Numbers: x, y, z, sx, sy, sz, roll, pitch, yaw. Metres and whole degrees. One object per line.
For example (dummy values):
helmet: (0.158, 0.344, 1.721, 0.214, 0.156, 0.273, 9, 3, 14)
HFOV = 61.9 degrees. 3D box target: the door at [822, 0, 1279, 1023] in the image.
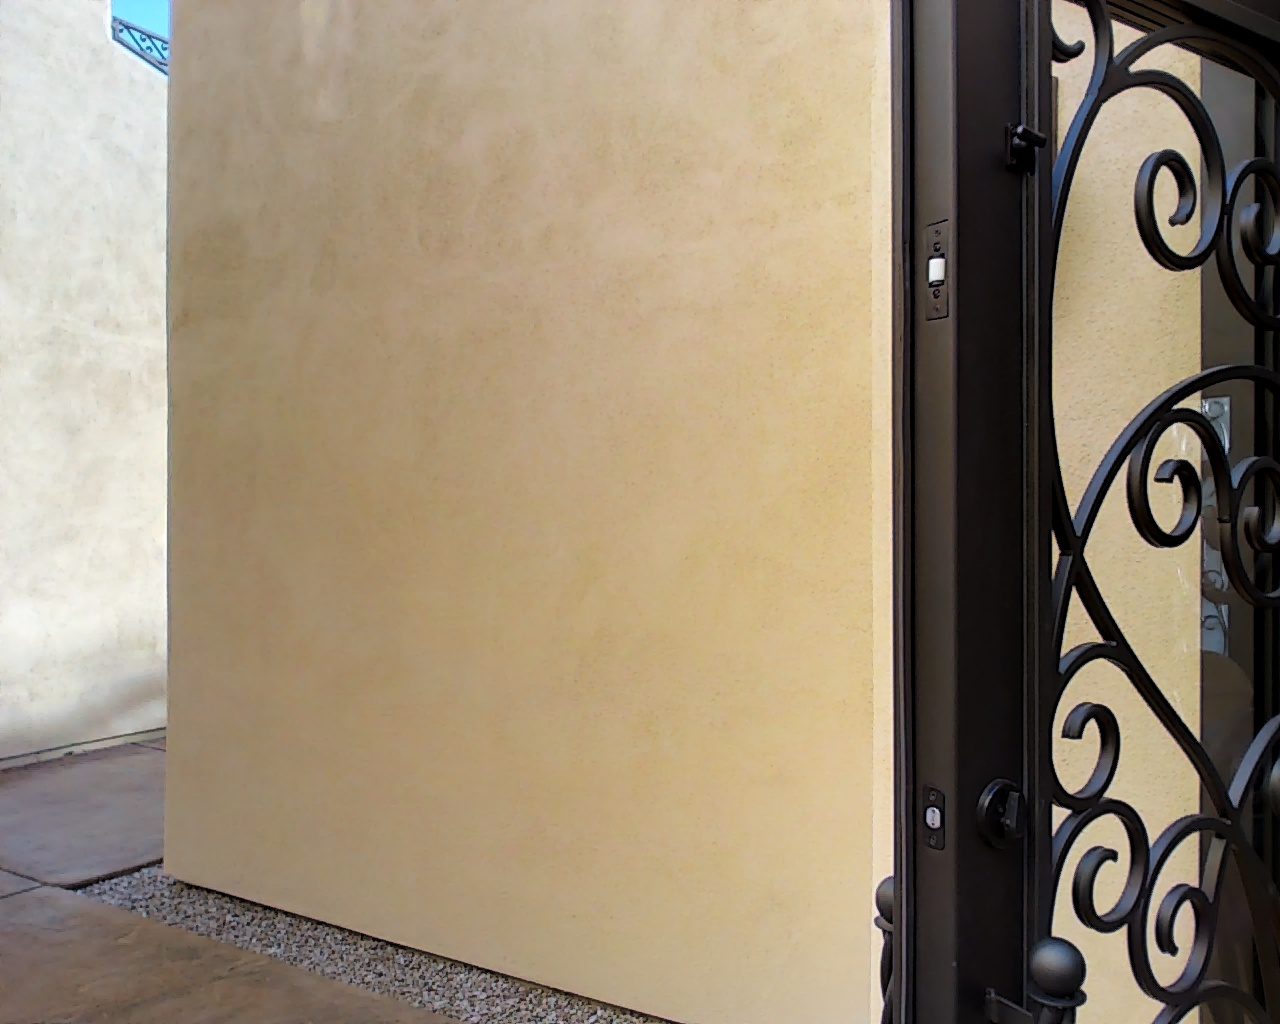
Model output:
door: (0.540, 0.440, 1.190, 0.730, 2.120, 0.170, -1, 0, -34)
